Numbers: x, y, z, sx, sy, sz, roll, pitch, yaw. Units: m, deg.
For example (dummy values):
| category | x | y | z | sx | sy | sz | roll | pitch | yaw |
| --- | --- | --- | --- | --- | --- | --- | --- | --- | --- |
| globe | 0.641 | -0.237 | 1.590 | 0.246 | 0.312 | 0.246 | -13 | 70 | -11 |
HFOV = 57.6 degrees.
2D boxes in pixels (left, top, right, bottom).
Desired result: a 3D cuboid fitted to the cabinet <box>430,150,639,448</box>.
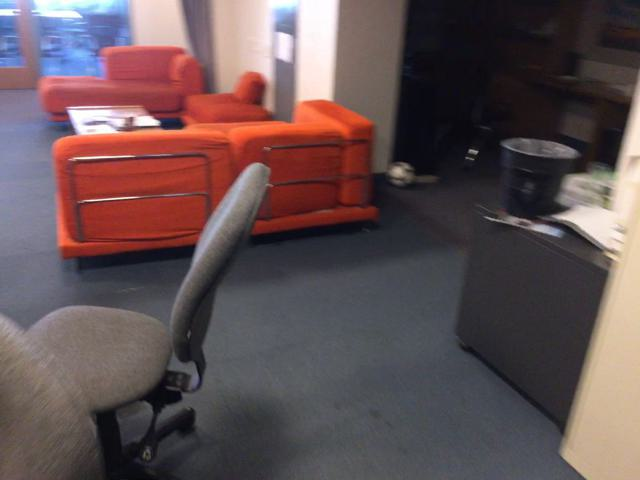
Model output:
| category | x | y | z | sx | sy | sz | roll | pitch | yaw |
| --- | --- | --- | --- | --- | --- | --- | --- | --- | --- |
| cabinet | 1.010 | 0.180 | 2.370 | 0.660 | 0.840 | 0.770 | -7 | 30 | -23 |
